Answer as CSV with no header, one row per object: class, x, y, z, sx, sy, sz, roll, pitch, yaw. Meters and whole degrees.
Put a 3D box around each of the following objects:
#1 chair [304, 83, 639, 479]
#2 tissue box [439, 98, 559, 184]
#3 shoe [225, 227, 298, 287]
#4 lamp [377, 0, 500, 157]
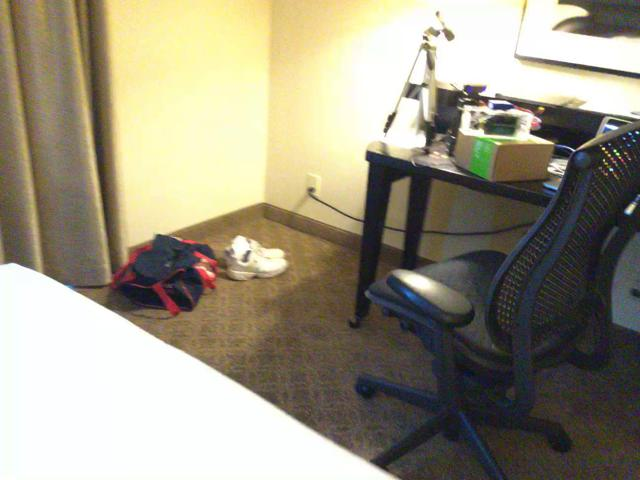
chair,0.430,0.160,1.570,0.670,1.050,0.650,-12,26,-33
tissue box,0.570,-0.330,1.880,0.230,0.220,0.270,-5,22,-20
shoe,-0.290,0.070,2.760,0.310,0.140,0.380,-2,22,-11
lamp,0.450,-0.710,2.170,0.270,0.710,0.350,18,26,34
